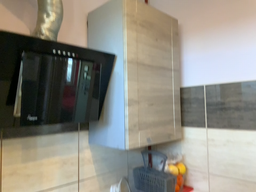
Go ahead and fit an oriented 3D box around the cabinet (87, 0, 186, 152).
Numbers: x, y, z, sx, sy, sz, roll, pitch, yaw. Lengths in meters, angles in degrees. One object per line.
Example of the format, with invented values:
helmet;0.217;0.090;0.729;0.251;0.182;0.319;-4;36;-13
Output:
cabinet;0.060;-0.100;1.220;0.310;0.710;0.490;-3;-4;45
